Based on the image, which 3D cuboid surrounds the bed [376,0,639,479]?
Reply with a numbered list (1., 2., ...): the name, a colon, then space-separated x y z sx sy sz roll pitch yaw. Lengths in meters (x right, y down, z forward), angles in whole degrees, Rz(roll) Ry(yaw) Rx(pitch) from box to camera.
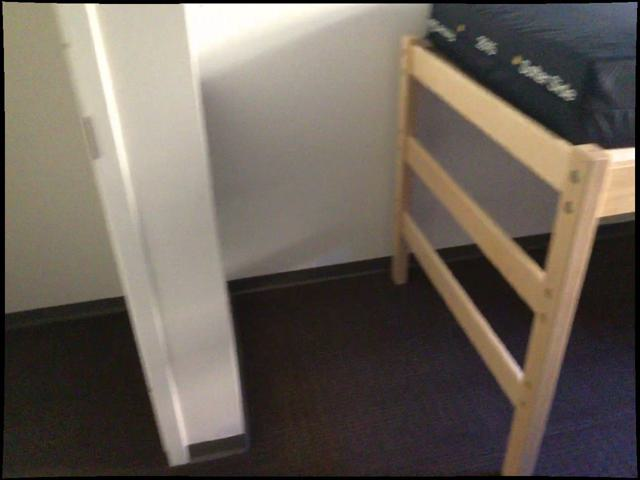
1. bed: 1.436 -0.231 1.840 2.265 1.102 1.131 -9 33 -9
